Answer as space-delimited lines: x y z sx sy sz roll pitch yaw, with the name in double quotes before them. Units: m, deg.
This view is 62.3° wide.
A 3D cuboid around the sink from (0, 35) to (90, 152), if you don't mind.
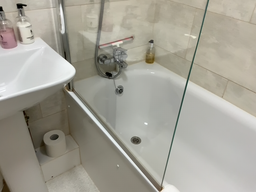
"sink" -0.500 -0.020 0.770 0.560 0.180 0.450 -21 42 -31
